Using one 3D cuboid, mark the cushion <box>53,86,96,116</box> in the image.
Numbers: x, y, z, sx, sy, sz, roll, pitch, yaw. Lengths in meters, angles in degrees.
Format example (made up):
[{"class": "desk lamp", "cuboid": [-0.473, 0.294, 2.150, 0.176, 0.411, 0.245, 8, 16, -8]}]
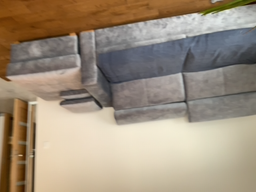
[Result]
[{"class": "cushion", "cuboid": [-0.700, 0.080, 2.830, 0.430, 0.240, 0.420, -8, 163, 7]}]
